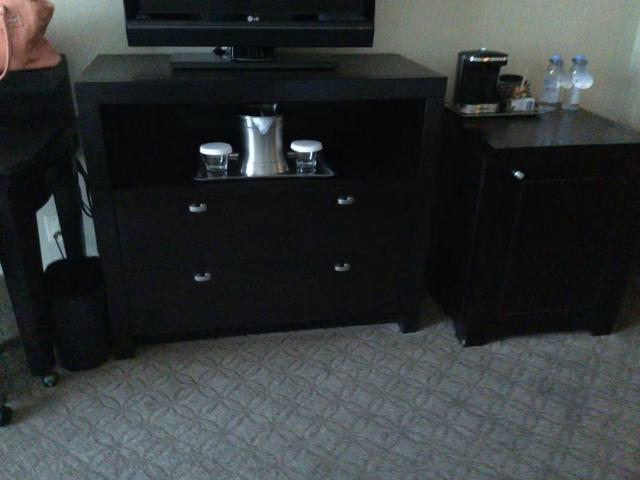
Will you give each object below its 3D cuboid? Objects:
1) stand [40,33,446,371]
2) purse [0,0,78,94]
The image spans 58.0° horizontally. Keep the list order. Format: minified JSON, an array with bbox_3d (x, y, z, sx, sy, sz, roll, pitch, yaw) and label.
[{"bbox_3d":[-0.220,-0.170,2.130,1.160,1.010,0.570,-5,26,-7],"label":"stand"},{"bbox_3d":[-1.020,-0.620,1.810,0.390,0.270,0.280,-5,26,-7],"label":"purse"}]
